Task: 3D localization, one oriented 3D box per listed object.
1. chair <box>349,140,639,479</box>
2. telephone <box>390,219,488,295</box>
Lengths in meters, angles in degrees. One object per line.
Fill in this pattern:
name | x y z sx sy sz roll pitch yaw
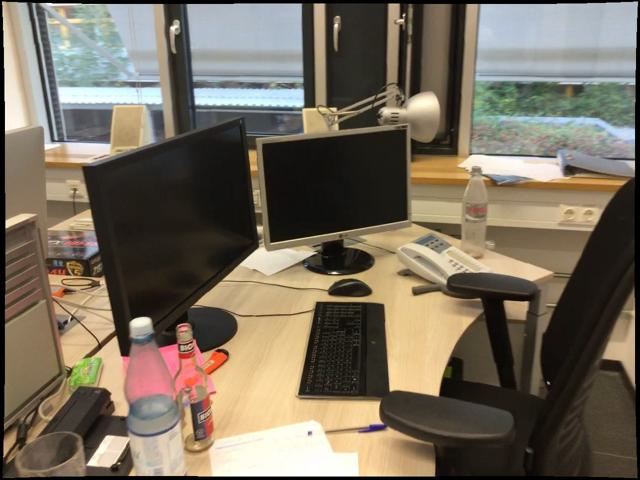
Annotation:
chair | 0.420 0.420 1.310 0.569 1.141 0.750 4 21 13
telephone | 0.360 0.040 1.730 0.260 0.090 0.330 4 21 13
